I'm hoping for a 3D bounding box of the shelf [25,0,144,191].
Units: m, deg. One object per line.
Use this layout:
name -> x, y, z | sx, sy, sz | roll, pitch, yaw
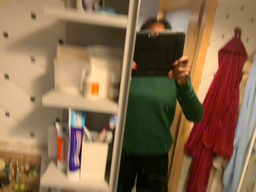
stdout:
shelf -> -0.110, -0.040, 0.570 | 0.240, 0.740, 0.180 | 8, 15, 1
